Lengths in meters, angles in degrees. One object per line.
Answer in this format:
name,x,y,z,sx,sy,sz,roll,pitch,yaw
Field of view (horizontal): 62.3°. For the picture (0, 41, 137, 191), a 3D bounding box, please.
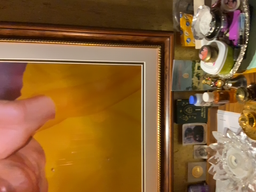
picture,-0.410,0.300,0.550,0.040,0.890,0.880,-177,87,-76
